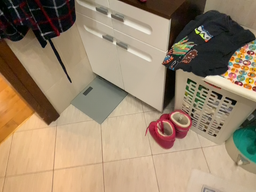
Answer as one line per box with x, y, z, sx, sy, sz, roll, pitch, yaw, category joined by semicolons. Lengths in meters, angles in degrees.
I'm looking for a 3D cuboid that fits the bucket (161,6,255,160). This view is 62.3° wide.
0.470;-0.030;1.110;0.450;0.620;0.340;33;66;24;bucket
